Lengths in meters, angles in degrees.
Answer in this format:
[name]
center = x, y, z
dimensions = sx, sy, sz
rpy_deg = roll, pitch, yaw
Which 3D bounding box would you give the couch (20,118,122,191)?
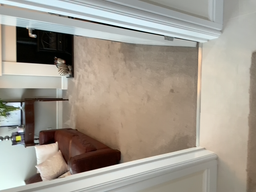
[couch]
center = -0.850, 0.970, 2.790
dimensions = 1.580, 0.790, 1.050
rpy_deg = 8, 98, 55
